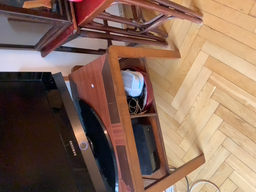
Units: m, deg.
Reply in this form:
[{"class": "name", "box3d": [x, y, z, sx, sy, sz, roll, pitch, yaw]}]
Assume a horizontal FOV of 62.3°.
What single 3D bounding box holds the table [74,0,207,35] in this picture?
[{"class": "table", "box3d": [0.070, -0.600, 1.050, 0.240, 0.680, 0.460, -16, 84, 46]}]
